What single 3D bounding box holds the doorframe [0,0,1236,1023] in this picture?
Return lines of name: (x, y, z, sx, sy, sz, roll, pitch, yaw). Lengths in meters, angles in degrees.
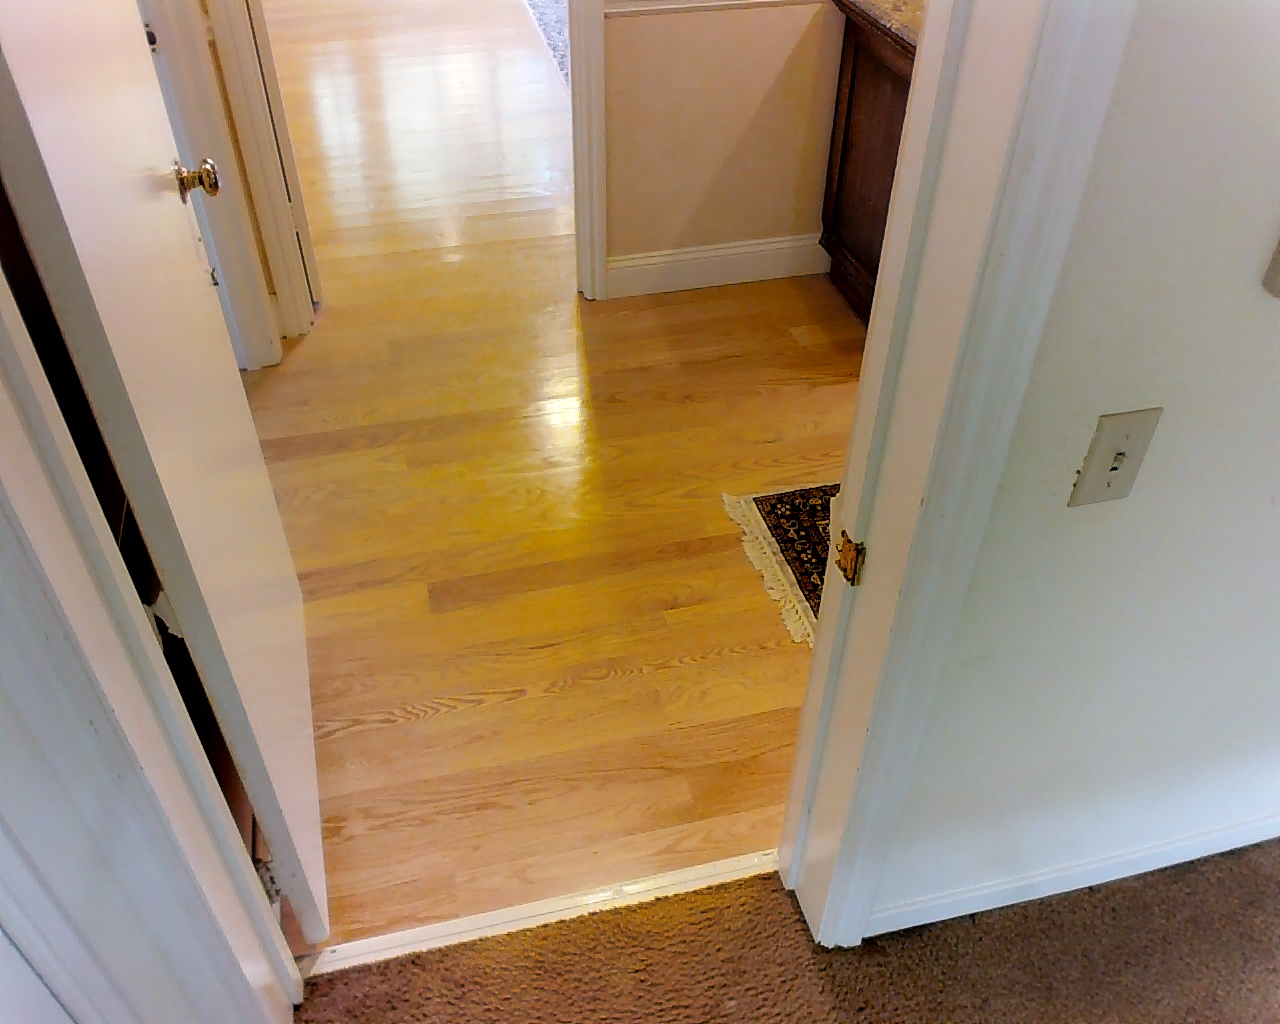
doorframe: (-0.070, -0.080, 1.040, 0.960, 1.970, 0.260, -9, 42, -10)
